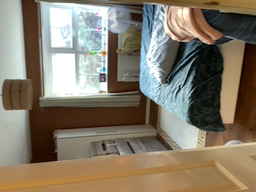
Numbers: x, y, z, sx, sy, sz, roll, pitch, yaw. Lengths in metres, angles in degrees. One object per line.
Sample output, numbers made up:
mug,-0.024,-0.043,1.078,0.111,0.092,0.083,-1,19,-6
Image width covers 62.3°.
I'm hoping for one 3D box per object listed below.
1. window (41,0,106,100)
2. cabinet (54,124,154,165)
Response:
window,-0.980,-0.820,3.950,0.210,1.080,1.760,-140,51,-71
cabinet,-0.440,0.900,4.120,0.440,1.840,0.530,-152,61,-73
